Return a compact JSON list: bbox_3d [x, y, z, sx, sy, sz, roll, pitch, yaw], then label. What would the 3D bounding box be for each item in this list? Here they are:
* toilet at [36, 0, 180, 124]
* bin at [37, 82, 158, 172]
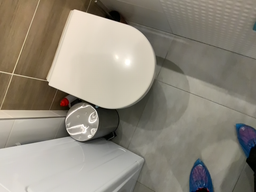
[{"bbox_3d":[-0.060,-0.150,1.100,0.490,0.470,0.390,23,94,19],"label":"toilet"},{"bbox_3d":[-0.140,0.140,1.160,0.500,0.390,0.200,27,95,19],"label":"bin"}]
